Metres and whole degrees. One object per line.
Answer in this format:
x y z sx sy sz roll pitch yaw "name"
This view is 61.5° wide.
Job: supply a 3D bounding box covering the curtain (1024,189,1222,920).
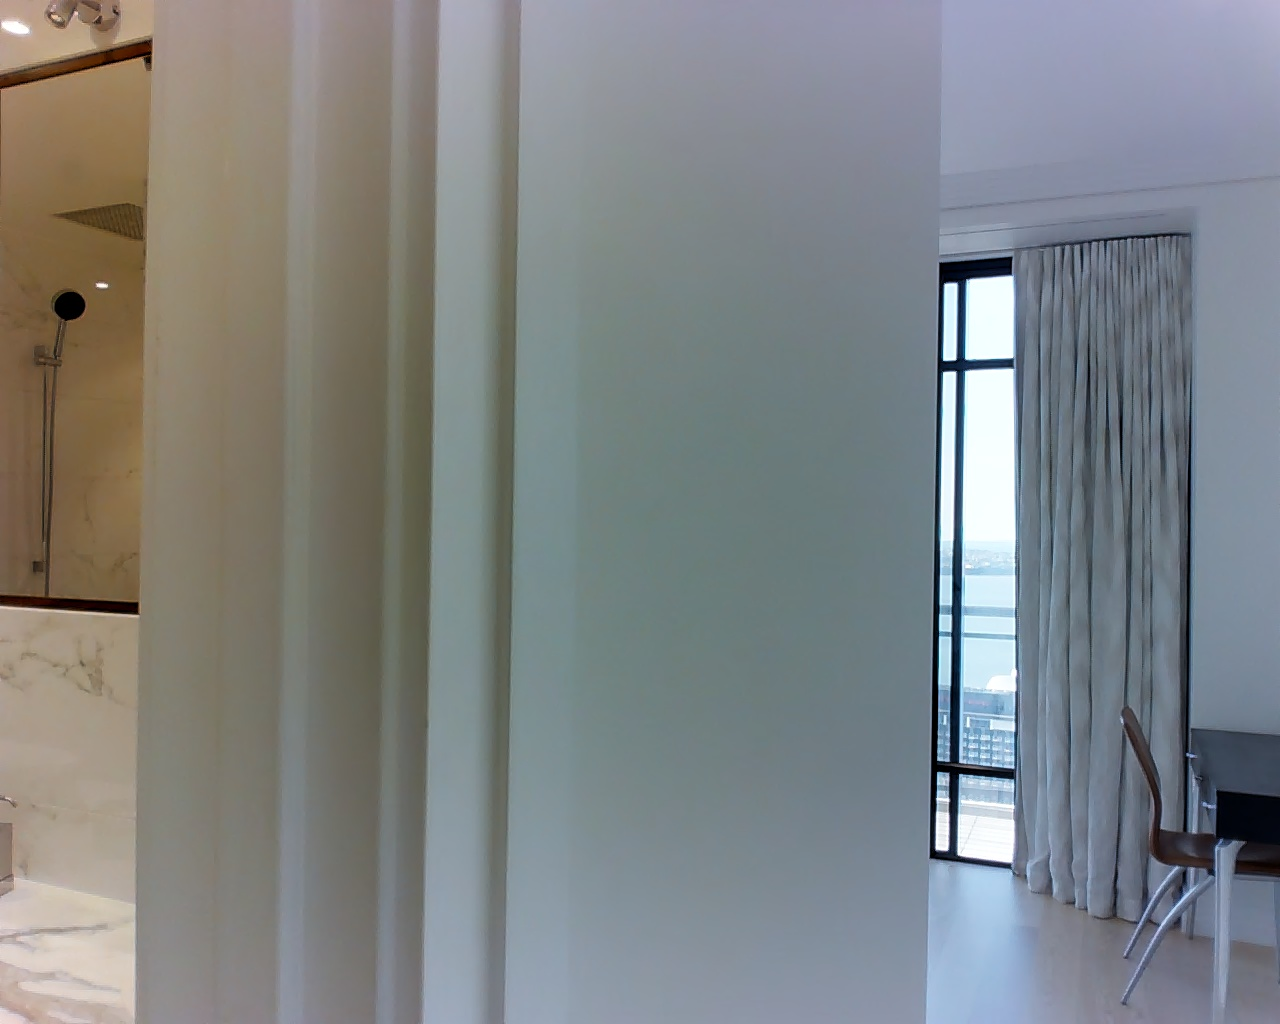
1.860 0.150 4.170 0.640 2.611 0.440 1 0 23 "curtain"
